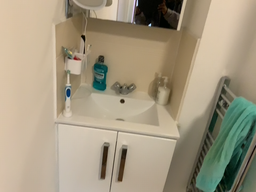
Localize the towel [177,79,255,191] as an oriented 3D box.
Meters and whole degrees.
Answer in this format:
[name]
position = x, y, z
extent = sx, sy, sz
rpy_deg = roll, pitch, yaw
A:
[towel]
position = 0.400, 0.230, 0.940
extent = 0.180, 0.520, 0.300
rpy_deg = 6, 26, -4
